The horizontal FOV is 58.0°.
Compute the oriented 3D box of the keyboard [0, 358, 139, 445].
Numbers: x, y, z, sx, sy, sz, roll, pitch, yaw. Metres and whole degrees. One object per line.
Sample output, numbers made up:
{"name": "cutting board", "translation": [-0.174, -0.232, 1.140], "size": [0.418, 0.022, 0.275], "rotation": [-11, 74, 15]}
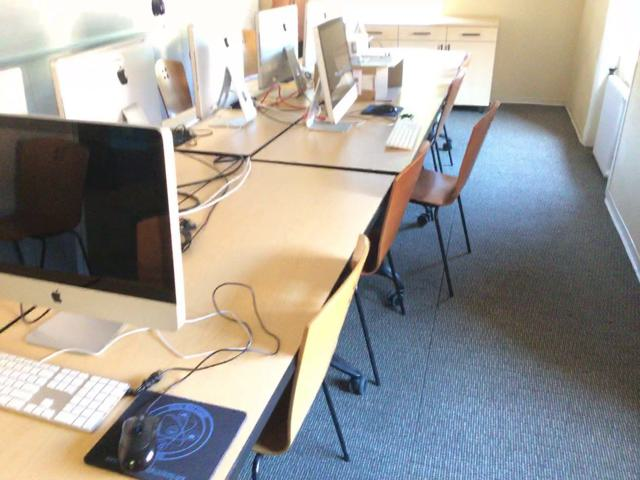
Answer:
{"name": "keyboard", "translation": [-0.530, 0.260, 1.000], "size": [0.420, 0.020, 0.110], "rotation": [8, 27, 14]}
